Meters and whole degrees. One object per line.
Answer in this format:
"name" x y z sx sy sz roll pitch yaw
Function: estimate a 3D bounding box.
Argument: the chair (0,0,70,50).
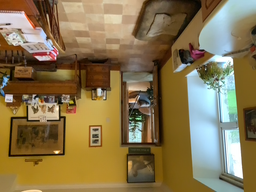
"chair" -0.770 -0.860 1.810 0.480 0.850 0.300 0 171 -5

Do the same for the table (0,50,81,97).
"table" -1.880 -0.440 4.510 1.640 0.850 0.650 0 171 -5

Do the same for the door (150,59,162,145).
"door" 0.660 0.170 5.190 0.060 1.940 0.930 -1 171 -3
